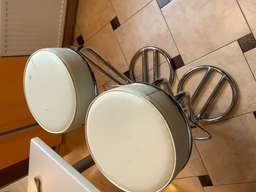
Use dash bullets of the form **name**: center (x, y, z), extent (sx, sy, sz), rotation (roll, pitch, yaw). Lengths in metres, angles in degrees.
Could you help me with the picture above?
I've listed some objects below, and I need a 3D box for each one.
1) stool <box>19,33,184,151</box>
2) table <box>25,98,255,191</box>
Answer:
- **stool**: center (-0.070, -0.100, 1.160), extent (0.360, 0.850, 0.340), rotation (29, 116, 26)
- **table**: center (0.110, 0.470, 1.160), extent (0.910, 0.850, 0.430), rotation (27, 115, 27)
